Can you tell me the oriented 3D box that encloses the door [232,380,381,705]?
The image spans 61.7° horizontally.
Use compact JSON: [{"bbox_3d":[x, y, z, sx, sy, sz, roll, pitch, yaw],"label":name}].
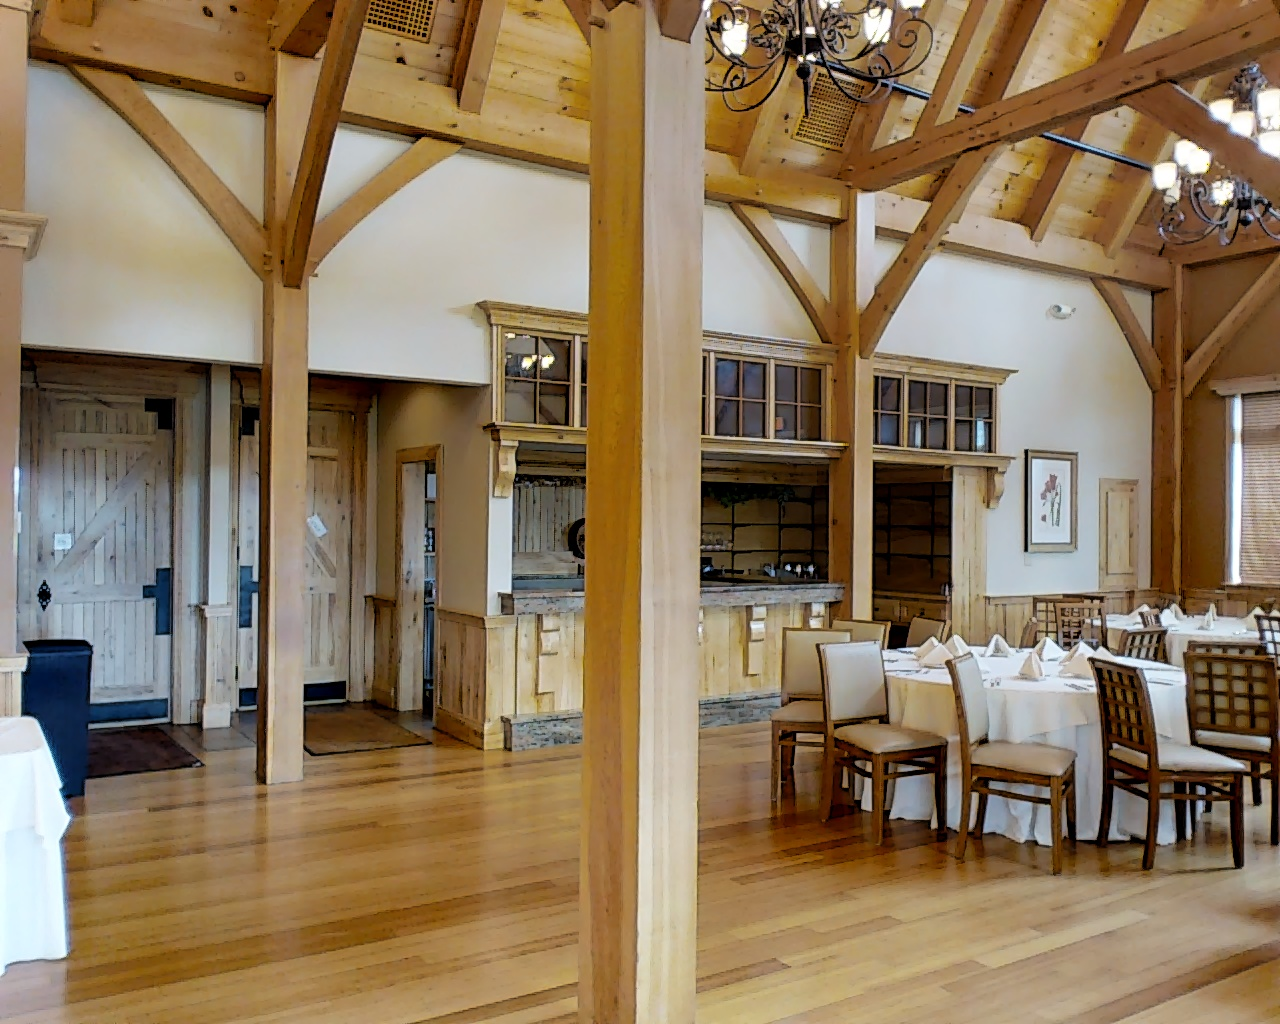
[{"bbox_3d":[-2.750,0.250,8.890,1.170,2.590,0.100,1,0,-33],"label":"door"}]
